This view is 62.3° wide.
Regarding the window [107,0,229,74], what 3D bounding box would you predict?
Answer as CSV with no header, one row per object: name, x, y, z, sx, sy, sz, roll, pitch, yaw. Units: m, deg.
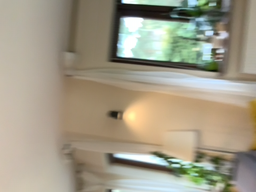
window,0.500,-1.110,2.680,0.230,1.380,1.520,-35,-48,-80
